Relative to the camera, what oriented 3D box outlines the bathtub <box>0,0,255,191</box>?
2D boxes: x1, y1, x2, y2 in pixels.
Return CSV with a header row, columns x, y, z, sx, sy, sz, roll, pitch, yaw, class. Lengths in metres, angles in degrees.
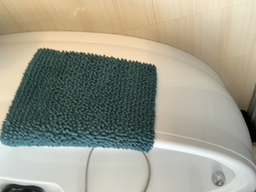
x,y,z,sx,sy,sz,roll,pitch,yaw,class
-0.200,0.190,1.200,1.720,0.600,1.170,-10,140,10,bathtub
